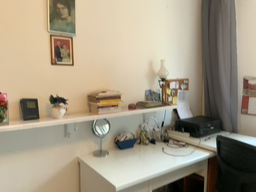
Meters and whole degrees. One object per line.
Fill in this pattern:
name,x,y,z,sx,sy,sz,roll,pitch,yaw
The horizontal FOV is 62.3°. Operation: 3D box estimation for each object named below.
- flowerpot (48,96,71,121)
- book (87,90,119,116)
flowerpot,-0.520,0.090,1.610,0.140,0.160,0.110,-3,7,-34
book,-0.210,0.050,1.780,0.200,0.190,0.180,-3,7,-35
